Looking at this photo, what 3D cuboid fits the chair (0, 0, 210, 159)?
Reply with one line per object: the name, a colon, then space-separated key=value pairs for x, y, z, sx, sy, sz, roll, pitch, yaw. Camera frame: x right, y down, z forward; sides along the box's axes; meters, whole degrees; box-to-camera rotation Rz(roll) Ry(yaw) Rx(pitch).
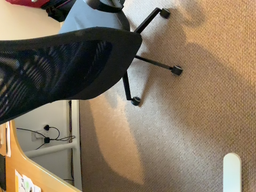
chair: x=-0.320 y=-0.230 z=0.980 sx=0.620 sy=1.260 sz=0.700 roll=-47 pitch=62 yaw=32
